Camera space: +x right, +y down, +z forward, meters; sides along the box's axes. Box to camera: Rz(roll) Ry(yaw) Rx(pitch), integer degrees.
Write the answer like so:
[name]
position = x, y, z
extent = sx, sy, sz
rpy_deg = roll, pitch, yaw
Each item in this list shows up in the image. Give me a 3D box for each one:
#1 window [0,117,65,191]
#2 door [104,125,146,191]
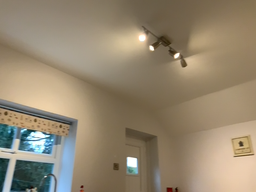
[window]
position = -1.410, 0.730, 2.490
extent = 1.310, 0.910, 0.090
rpy_deg = 21, -32, -40
[door]
position = -0.020, 1.570, 3.490
extent = 0.090, 2.040, 0.890
rpy_deg = -21, -31, 40
